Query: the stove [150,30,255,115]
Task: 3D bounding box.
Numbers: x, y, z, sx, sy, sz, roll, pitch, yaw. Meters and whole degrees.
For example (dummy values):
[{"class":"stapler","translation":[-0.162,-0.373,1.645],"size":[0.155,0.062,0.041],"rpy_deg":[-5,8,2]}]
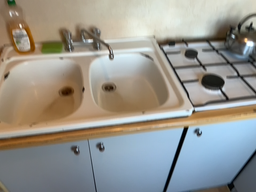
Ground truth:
[{"class":"stove","translation":[0.510,-0.170,1.080],"size":[0.660,0.050,0.570],"rpy_deg":[-6,44,-10]}]
